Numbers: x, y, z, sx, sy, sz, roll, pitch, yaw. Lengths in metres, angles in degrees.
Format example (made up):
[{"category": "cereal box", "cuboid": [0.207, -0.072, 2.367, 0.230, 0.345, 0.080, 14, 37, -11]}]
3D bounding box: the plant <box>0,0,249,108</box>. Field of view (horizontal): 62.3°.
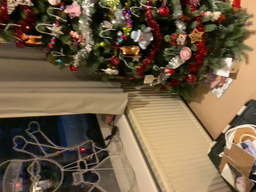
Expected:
[{"category": "plant", "cuboid": [-0.180, -0.530, 1.580, 1.100, 1.690, 1.160, -4, 88, 62]}]
